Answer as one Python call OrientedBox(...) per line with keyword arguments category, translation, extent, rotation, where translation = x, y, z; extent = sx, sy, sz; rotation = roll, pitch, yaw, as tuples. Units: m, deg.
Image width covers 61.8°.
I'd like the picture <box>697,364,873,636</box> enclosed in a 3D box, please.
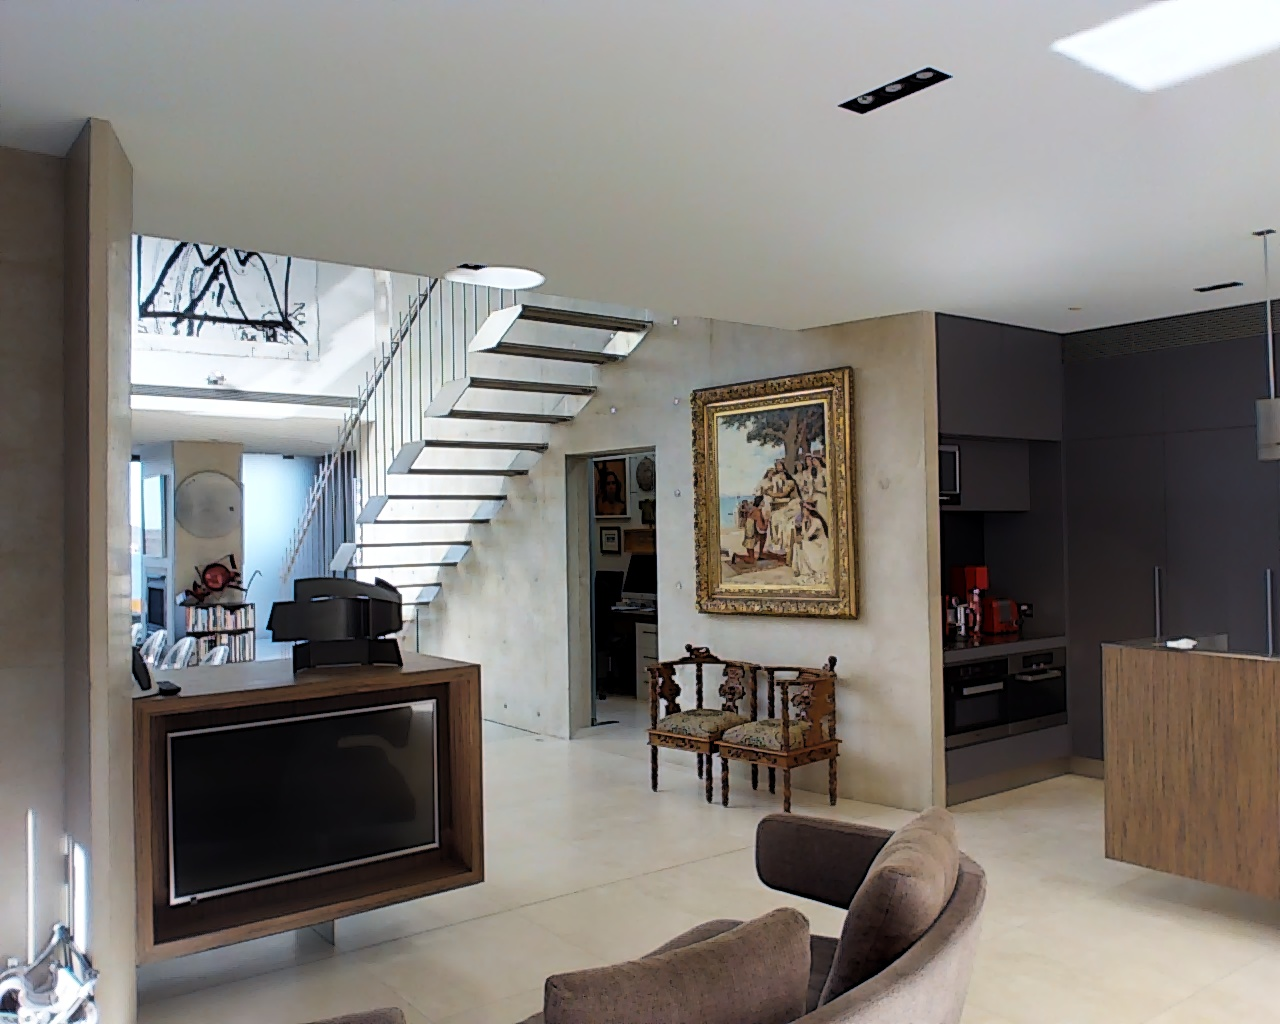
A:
OrientedBox(category="picture", translation=(0.830, -0.050, 6.330), extent=(0.200, 1.490, 1.140), rotation=(0, -2, -42))
